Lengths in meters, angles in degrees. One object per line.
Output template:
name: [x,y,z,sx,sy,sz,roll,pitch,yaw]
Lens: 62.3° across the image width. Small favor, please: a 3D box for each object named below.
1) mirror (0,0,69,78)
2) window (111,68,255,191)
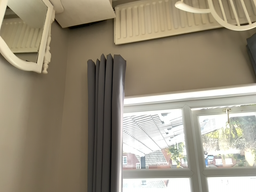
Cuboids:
mirror: [-0.580,-0.460,1.270,0.120,0.520,0.560,-7,160,16]
window: [0.480,0.510,1.430,1.140,1.280,0.310,-6,160,11]
